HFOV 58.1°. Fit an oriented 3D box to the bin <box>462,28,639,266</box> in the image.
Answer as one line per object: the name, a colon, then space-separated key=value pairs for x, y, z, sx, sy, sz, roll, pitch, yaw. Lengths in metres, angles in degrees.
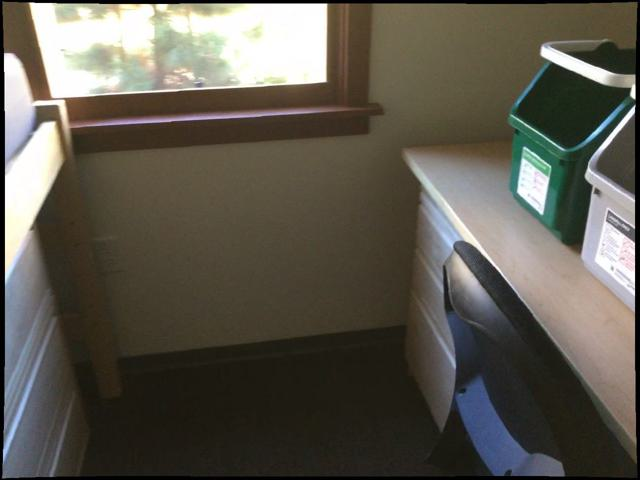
bin: x=0.608 y=-0.221 z=1.210 sx=0.439 sy=0.351 sz=0.390 roll=-6 pitch=31 yaw=-11

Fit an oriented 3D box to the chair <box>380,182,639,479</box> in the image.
chair: x=0.449 y=0.431 z=1.090 sx=0.489 sy=0.892 sz=0.550 roll=-6 pitch=31 yaw=-11
